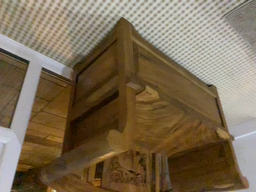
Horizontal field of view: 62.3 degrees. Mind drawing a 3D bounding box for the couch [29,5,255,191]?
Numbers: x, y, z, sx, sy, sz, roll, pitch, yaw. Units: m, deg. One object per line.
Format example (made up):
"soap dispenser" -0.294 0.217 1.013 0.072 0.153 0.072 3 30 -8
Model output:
"couch" 0.140 0.210 1.240 1.060 0.760 0.580 25 138 -35
